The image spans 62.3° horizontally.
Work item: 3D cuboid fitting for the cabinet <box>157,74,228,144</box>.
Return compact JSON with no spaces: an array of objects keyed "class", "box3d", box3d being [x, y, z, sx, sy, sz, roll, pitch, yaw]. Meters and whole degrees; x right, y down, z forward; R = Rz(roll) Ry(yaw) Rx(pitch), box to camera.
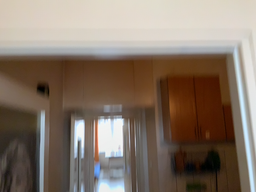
[{"class":"cabinet","box3d":[0.720,0.150,2.460,0.670,0.740,0.300,-1,-9,-5]}]
